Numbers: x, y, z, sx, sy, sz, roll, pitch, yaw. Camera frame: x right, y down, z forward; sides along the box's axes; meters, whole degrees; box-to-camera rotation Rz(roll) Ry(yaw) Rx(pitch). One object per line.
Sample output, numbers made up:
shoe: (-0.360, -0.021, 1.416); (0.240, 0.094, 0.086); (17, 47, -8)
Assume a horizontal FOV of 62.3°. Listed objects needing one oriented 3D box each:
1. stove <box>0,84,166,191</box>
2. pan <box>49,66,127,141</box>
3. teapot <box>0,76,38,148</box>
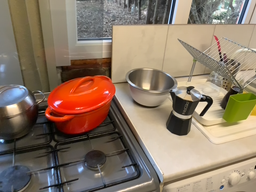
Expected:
stove: (-0.280, 0.210, 0.840); (0.600, 0.180, 0.620); (-8, 35, -20)
pan: (-0.180, 0.010, 0.880); (0.260, 0.140, 0.300); (-6, 34, -18)
teapot: (-0.450, 0.050, 0.800); (0.180, 0.140, 0.250); (-7, 35, -20)
